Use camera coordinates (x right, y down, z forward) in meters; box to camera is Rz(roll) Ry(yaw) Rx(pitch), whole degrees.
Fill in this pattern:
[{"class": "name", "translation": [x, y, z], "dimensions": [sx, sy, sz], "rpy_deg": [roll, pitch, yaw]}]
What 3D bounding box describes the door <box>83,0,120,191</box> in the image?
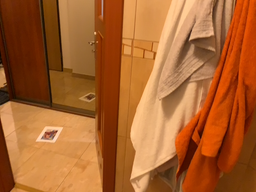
[{"class": "door", "translation": [-0.210, -0.190, 1.500], "dimensions": [0.150, 2.070, 0.970], "rpy_deg": [0, 25, -9]}]
